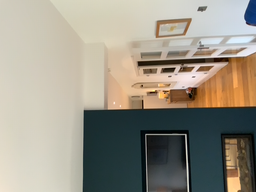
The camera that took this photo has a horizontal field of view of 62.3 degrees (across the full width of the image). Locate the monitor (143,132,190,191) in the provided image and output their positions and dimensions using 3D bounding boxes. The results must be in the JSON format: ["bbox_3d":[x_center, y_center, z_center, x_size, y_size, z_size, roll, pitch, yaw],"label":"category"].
[{"bbox_3d":[0.510,0.960,2.840,0.050,0.590,0.940,48,-139,-83],"label":"monitor"}]

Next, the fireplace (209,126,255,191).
[{"bbox_3d":[1.430,0.910,2.940,0.400,0.430,0.940,48,-139,-83],"label":"fireplace"}]
